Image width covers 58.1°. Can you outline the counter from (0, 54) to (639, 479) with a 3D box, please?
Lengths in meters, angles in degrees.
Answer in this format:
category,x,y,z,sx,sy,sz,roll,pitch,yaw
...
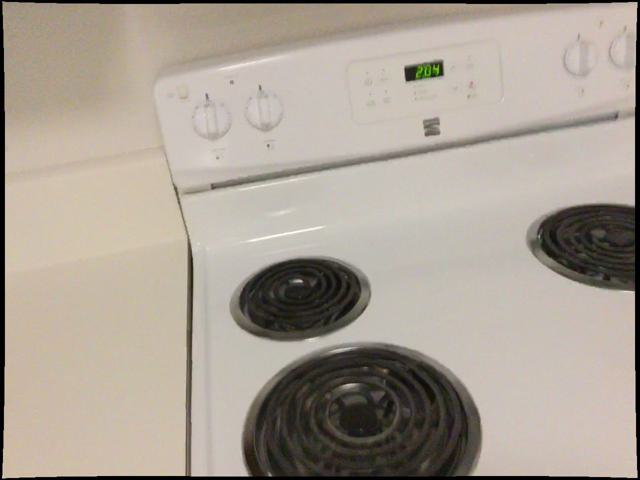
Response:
category,x,y,z,sx,sy,sz,roll,pitch,yaw
counter,0.199,0.030,0.740,1.636,0.240,0.670,-12,31,-5
